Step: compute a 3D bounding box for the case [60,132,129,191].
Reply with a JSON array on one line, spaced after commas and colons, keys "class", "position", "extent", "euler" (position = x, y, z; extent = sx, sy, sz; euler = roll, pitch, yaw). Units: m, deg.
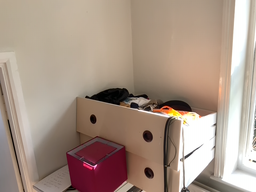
[{"class": "case", "position": [-0.200, 0.420, 1.280], "extent": [0.320, 0.250, 0.250], "euler": [11, 21, 42]}]
